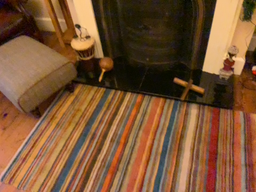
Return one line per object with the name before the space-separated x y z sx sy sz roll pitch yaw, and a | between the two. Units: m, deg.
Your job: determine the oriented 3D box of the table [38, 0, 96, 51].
table | -0.600 -0.800 2.160 0.340 0.590 0.280 8 49 15
